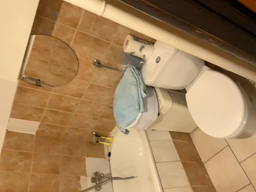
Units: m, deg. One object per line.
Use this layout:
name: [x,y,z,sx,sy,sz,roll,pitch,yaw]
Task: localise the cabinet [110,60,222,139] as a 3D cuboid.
cabinet: [0.310,0.060,1.790,0.360,0.800,0.360,-56,34,33]
